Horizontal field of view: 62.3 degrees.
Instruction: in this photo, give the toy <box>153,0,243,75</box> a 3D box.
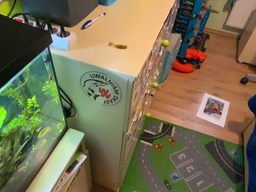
[{"bbox_3d":[0.670,-0.790,2.010,0.520,0.640,0.920,19,48,11],"label":"toy"}]
